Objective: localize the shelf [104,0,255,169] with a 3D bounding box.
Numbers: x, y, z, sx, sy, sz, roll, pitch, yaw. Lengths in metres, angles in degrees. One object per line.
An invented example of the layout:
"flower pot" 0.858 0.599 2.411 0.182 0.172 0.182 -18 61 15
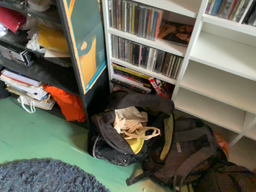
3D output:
"shelf" 0.420 -0.080 0.840 1.040 0.890 0.190 23 56 14
